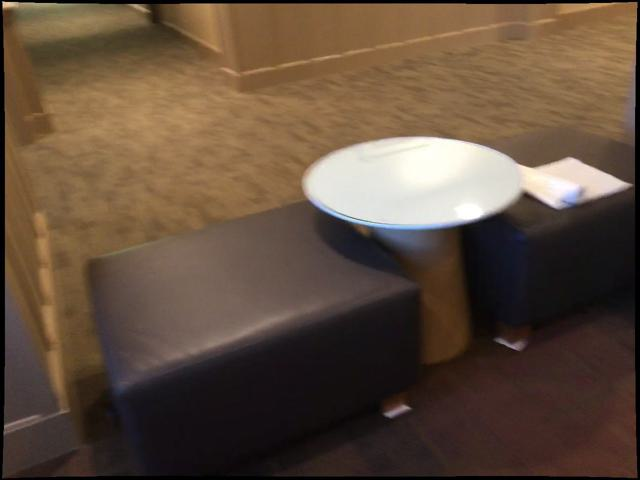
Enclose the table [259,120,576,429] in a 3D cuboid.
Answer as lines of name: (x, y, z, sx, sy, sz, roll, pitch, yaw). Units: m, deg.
table: (0.279, 0.050, 1.880, 0.679, 0.571, 0.680, -18, 32, -19)
